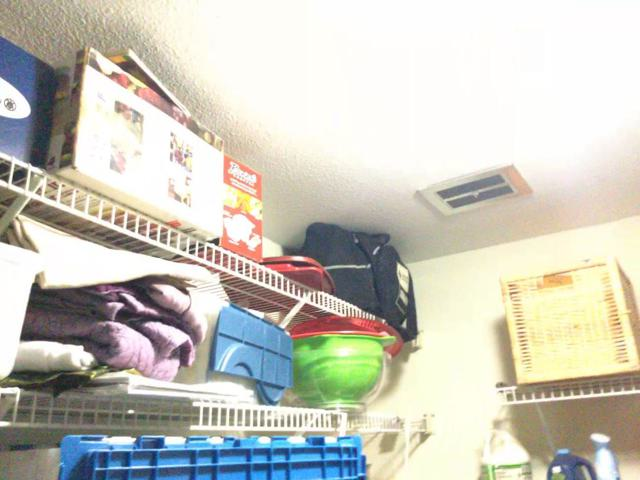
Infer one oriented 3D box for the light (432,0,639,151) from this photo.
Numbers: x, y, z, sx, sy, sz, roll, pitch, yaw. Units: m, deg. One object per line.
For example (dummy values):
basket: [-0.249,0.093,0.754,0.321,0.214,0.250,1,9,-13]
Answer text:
light: [0.400,-0.310,0.960,0.330,0.130,0.280,-14,-24,28]
